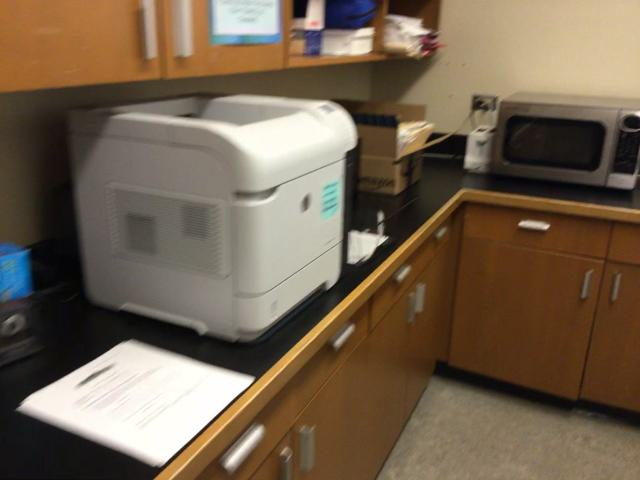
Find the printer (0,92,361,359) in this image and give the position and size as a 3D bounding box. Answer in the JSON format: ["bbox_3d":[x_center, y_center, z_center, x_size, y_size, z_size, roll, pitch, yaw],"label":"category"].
[{"bbox_3d":[-0.270,-0.090,1.270,0.590,0.410,0.460,8,21,25],"label":"printer"}]

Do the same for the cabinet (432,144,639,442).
[{"bbox_3d":[1.280,0.190,2.150,1.550,0.910,0.630,8,21,25],"label":"cabinet"}]
